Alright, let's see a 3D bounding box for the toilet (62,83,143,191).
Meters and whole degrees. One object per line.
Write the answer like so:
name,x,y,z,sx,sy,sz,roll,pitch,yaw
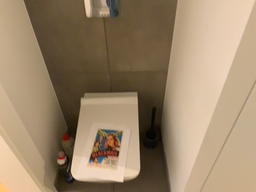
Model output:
toilet,-0.110,0.290,1.280,0.350,0.470,0.570,-1,44,0
